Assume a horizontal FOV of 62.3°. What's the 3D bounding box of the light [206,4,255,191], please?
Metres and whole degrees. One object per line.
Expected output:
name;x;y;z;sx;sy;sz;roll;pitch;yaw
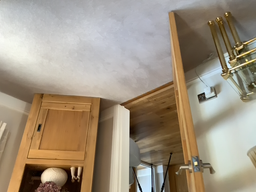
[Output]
light;0.770;0.010;1.230;0.280;1.090;0.370;-26;140;36

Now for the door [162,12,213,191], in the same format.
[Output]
door;0.340;0.480;1.130;0.110;1.940;0.690;-6;148;11
